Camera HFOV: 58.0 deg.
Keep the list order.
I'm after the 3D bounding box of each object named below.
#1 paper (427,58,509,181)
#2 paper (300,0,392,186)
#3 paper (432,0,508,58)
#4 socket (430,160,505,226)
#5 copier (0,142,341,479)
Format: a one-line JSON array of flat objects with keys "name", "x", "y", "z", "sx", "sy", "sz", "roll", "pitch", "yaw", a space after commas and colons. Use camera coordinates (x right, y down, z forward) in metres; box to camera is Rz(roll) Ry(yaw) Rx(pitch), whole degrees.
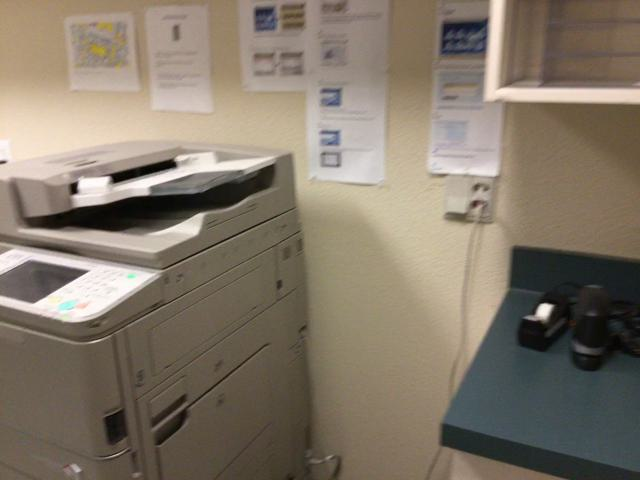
[{"name": "paper", "x": 0.330, "y": -0.270, "z": 1.300, "sx": 0.160, "sy": 0.260, "sz": 0.030, "roll": 7, "pitch": 16, "yaw": 25}, {"name": "paper", "x": 0.060, "y": -0.390, "z": 1.410, "sx": 0.220, "sy": 0.500, "sz": 0.040, "roll": 7, "pitch": 16, "yaw": 25}, {"name": "paper", "x": 0.320, "y": -0.490, "z": 1.230, "sx": 0.150, "sy": 0.190, "sz": 0.020, "roll": 7, "pitch": 16, "yaw": 25}, {"name": "socket", "x": 0.340, "y": -0.110, "z": 1.340, "sx": 0.160, "sy": 0.140, "sz": 0.020, "roll": 7, "pitch": 16, "yaw": 25}, {"name": "copier", "x": -0.430, "y": 0.400, "z": 1.420, "sx": 0.720, "sy": 1.190, "sz": 0.720, "roll": 7, "pitch": 16, "yaw": 25}]
